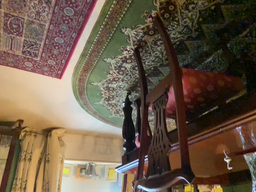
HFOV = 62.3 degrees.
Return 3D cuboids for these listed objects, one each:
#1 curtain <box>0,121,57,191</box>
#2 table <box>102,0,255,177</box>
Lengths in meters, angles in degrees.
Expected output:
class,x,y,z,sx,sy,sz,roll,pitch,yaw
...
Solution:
class,x,y,z,sx,sy,sz,roll,pitch,yaw
curtain,-1.220,1.450,2.300,0.550,2.350,0.220,15,147,-29
table,0.720,0.010,1.470,1.130,0.760,1.920,13,149,-26
